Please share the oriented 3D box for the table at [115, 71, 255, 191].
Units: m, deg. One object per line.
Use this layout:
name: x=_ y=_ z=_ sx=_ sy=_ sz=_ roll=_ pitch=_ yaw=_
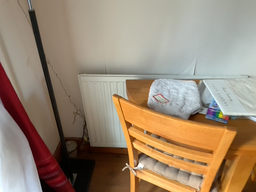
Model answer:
table: x=0.410 y=0.340 z=1.130 sx=0.870 sy=0.780 sz=0.510 roll=1 pitch=34 yaw=3
